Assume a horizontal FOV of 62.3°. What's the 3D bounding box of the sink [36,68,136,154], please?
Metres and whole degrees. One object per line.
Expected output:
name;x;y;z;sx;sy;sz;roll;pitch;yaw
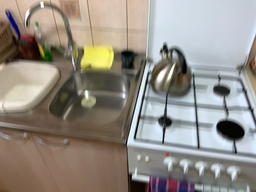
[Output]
sink;-0.170;0.050;1.070;0.360;0.150;0.410;7;41;9

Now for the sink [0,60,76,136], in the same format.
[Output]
sink;-0.520;-0.010;1.100;0.360;0.170;0.350;7;41;9

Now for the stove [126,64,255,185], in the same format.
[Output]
stove;0.290;0.080;0.980;0.500;0.150;0.530;7;41;9
